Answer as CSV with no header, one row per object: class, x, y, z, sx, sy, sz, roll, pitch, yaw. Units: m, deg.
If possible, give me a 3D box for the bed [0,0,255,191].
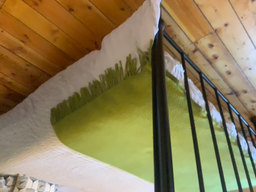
bed,-0.140,0.480,1.970,2.150,0.620,1.710,-26,135,34
